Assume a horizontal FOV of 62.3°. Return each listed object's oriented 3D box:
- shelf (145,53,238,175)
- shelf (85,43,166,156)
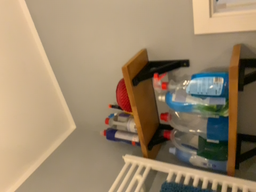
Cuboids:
[{"bbox_3d":[0.320,0.080,1.000,0.250,0.320,0.490,-55,-40,-43],"label":"shelf"},{"bbox_3d":[0.020,0.020,1.150,0.270,0.240,0.520,-52,-43,-46],"label":"shelf"}]
